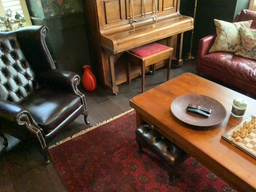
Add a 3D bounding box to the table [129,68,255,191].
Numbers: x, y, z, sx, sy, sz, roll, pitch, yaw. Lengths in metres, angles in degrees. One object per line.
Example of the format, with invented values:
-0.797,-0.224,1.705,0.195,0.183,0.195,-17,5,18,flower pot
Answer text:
0.810,0.400,1.640,0.800,0.530,1.570,-24,39,-28,table
